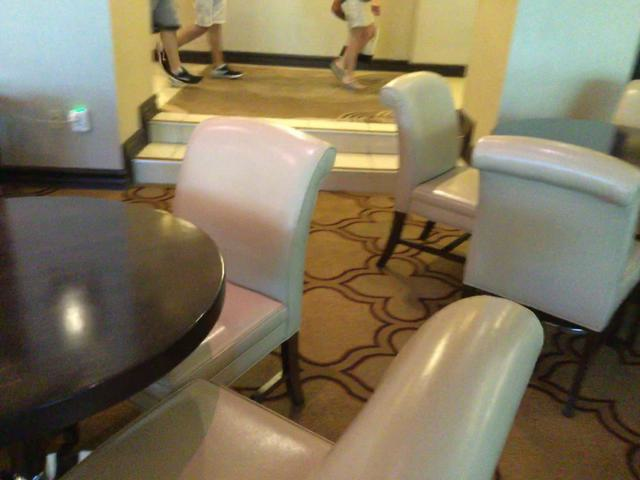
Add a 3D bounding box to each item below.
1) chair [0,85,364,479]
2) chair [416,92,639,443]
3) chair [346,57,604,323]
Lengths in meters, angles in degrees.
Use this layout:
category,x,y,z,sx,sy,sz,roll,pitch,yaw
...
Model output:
category,x,y,z,sx,sy,sz,roll,pitch,yaw
chair,-0.370,0.140,1.640,0.610,0.940,0.840,16,29,26
chair,0.850,0.020,2.050,0.560,0.880,0.830,22,32,34
chair,0.670,-0.290,2.690,0.850,0.930,0.600,22,32,34
